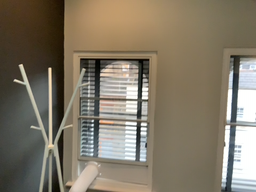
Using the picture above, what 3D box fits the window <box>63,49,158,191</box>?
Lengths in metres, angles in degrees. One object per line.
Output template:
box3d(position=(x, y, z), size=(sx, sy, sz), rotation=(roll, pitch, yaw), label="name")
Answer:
box3d(position=(-0.180, 0.210, 1.900), size=(0.840, 1.240, 0.040), rotation=(2, 5, 10), label="window")
